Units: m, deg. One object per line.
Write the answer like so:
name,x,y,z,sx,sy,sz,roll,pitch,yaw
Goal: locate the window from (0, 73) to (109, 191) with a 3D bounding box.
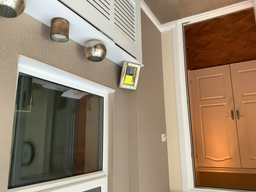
window,-0.430,0.400,1.410,0.160,0.910,0.800,-8,167,30
